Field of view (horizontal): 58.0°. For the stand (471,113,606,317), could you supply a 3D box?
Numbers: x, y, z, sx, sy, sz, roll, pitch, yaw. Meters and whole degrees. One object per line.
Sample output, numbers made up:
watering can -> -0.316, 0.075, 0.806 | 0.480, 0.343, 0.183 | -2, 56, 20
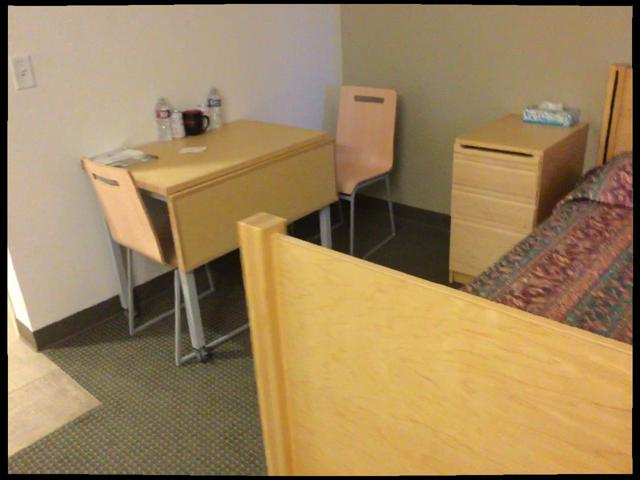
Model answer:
stand -> 1.018, -0.150, 2.700 | 0.350, 0.731, 0.660 | 13, 30, 38

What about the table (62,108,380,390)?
table -> -0.389, -0.070, 2.710 | 0.859, 0.801, 1.079 | 16, 32, 37
